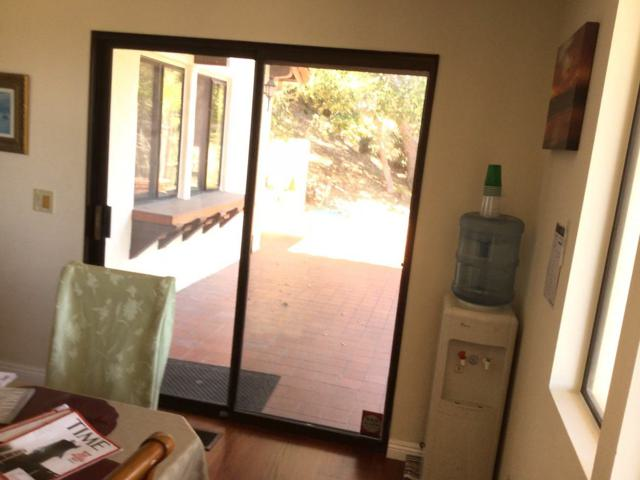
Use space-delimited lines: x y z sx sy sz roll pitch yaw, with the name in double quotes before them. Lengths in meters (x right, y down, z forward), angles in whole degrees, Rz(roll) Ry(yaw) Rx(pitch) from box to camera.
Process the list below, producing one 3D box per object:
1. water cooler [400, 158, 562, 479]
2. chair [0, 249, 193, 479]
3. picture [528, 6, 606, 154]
"water cooler" 0.680 0.420 2.590 0.390 1.510 0.370 10 7 8
"chair" -0.840 0.640 1.840 0.530 1.080 0.630 10 7 8
"picture" 0.870 -0.540 2.080 0.050 0.430 0.520 10 7 8
